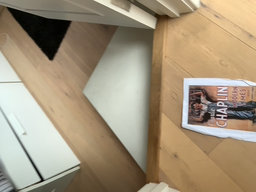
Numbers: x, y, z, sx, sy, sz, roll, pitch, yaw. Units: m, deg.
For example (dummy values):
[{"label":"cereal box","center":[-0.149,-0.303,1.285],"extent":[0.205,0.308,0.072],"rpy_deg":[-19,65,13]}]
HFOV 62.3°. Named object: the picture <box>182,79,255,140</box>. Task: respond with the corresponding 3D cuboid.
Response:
[{"label":"picture","center":[0.340,0.040,0.740],"extent":[0.290,0.020,0.190],"rpy_deg":[5,95,32]}]
